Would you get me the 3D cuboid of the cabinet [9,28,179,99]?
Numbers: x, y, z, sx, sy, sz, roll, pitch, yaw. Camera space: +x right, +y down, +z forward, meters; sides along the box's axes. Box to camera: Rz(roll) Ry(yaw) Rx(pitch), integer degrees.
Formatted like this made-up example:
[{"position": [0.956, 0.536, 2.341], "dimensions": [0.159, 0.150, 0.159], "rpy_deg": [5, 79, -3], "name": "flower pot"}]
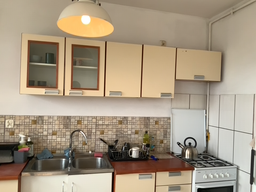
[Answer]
[{"position": [-0.300, -0.300, 2.320], "dimensions": [1.700, 0.590, 0.320], "rpy_deg": [2, 0, -14], "name": "cabinet"}]
